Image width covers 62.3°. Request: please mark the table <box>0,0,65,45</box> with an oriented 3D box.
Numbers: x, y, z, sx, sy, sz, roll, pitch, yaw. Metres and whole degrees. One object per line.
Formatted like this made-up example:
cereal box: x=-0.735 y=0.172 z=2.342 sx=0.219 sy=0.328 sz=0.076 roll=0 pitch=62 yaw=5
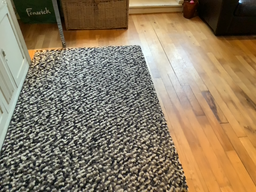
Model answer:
table: x=-1.290 y=-1.190 z=2.560 sx=0.840 sy=0.760 sz=0.890 roll=-4 pitch=44 yaw=-7
